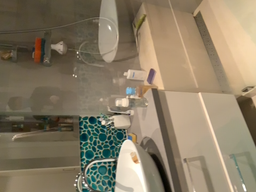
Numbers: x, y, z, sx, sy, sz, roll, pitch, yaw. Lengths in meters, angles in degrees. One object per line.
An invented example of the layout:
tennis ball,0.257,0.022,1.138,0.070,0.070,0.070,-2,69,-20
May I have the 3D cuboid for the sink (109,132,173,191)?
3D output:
sink,0.060,0.520,0.980,0.380,0.130,0.610,129,138,-54
